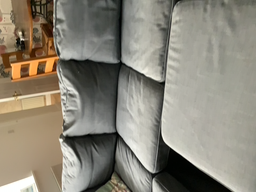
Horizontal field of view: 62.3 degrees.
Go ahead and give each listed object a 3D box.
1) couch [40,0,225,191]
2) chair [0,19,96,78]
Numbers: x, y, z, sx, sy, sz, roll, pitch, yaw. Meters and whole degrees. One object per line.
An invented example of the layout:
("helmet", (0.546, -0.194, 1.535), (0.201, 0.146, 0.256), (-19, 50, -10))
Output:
("couch", (-0.050, -0.400, 1.500), (0.950, 0.820, 1.550), (33, 127, 48))
("chair", (-1.020, -0.620, 2.700), (0.440, 1.020, 0.500), (-46, 61, 53))
